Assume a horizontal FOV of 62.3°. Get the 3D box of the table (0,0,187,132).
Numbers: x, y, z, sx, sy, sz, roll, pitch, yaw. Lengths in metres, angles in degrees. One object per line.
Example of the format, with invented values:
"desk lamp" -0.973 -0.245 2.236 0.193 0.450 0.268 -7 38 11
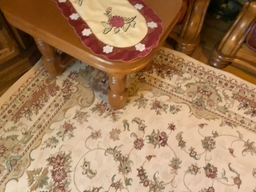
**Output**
"table" -0.200 -0.320 1.250 0.800 0.580 0.580 27 62 11
